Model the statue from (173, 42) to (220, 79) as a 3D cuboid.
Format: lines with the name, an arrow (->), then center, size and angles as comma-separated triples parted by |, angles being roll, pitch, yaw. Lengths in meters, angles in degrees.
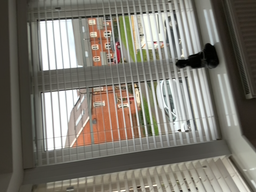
statue -> 0.460, -0.240, 1.460 | 0.180, 0.230, 0.170 | 110, 153, -75
